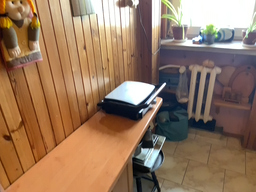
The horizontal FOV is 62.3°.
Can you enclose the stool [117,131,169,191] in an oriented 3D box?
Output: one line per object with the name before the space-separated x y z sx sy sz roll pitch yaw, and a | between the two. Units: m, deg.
stool | 0.120 0.550 1.560 0.260 0.420 0.330 10 30 23
